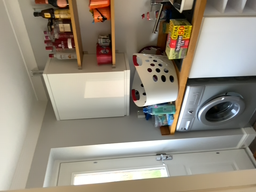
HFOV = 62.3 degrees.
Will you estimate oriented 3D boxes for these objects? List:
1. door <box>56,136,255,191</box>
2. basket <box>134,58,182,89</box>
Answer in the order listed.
[{"bbox_3d":[0.360,0.840,1.950,0.930,1.970,0.130,-100,9,-51],"label":"door"},{"bbox_3d":[0.240,-0.200,1.810,0.300,0.340,0.110,-100,9,-50],"label":"basket"}]
